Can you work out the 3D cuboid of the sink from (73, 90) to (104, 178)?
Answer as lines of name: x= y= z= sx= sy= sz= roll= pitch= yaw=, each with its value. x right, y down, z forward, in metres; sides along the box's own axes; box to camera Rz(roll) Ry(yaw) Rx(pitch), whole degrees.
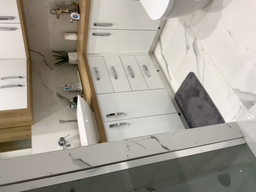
sink: x=-0.350 y=0.310 z=1.770 sx=0.400 sy=0.110 sz=0.600 roll=110 pitch=147 yaw=-48
